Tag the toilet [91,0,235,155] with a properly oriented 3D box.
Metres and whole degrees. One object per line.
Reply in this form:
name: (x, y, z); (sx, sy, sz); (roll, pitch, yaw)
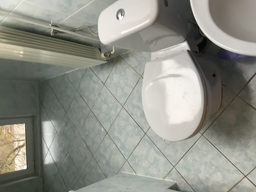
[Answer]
toilet: (0.230, -0.130, 1.150); (0.370, 0.730, 0.710); (-8, 84, 42)
